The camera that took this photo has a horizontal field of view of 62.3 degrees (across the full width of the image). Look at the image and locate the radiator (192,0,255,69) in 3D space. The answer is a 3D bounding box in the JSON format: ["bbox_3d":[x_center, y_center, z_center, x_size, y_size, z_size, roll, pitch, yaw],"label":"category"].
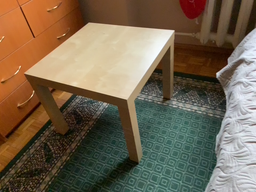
[{"bbox_3d":[0.730,-0.560,1.380,0.500,0.690,0.250,14,47,24],"label":"radiator"}]
